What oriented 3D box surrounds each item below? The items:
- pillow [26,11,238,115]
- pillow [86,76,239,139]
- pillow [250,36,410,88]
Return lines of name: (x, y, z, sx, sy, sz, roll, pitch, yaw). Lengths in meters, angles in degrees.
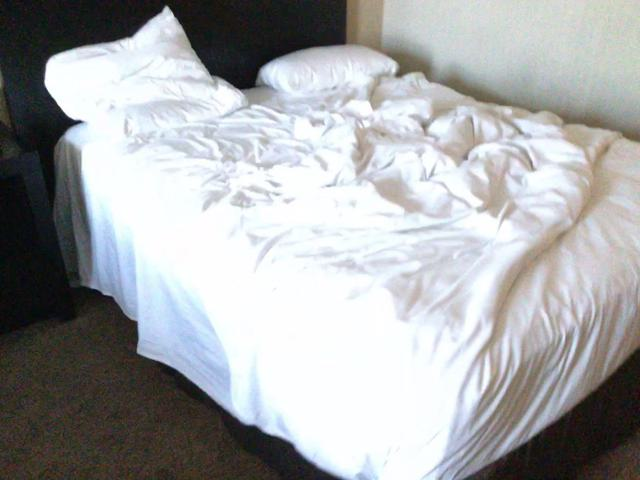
pillow: (-0.690, -0.690, 2.180, 0.630, 0.250, 0.380, -22, 34, -34)
pillow: (-0.610, -0.530, 2.260, 0.470, 0.100, 0.330, -22, 34, -34)
pillow: (0.050, -0.840, 2.690, 0.610, 0.100, 0.420, -22, 34, -34)
